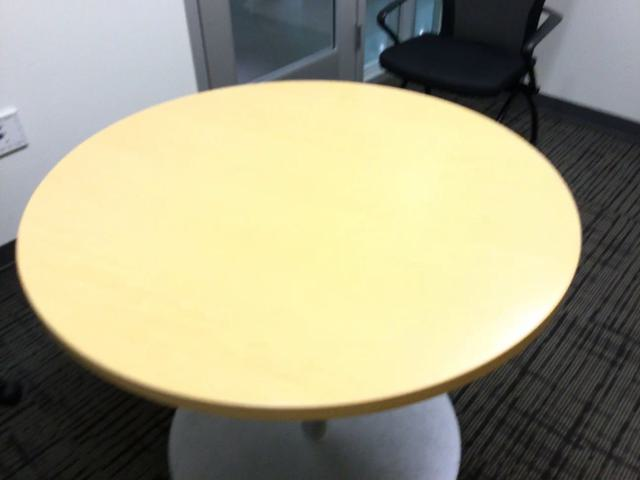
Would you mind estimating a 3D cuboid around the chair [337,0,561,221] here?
[{"bbox_3d":[0.460,-0.680,2.120,0.570,0.930,0.560,25,46,30],"label":"chair"}]
